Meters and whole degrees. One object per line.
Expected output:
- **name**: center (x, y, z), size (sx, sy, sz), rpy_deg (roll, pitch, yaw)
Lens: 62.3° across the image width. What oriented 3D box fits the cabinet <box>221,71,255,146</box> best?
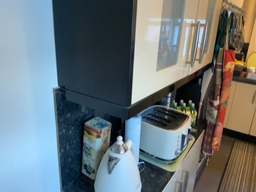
- **cabinet**: center (1.950, 0.190, 3.100), size (0.840, 0.900, 0.590), rpy_deg (15, 23, 30)
